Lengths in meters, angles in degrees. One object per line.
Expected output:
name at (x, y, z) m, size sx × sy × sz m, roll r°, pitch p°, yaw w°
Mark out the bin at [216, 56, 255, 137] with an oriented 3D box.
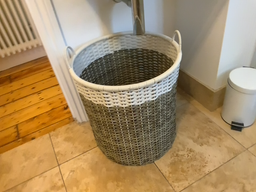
bin at (0.600, 0.000, 1.040) m, size 0.190 × 0.290 × 0.200 m, roll -24°, pitch 42°, yaw -18°
